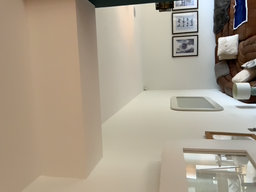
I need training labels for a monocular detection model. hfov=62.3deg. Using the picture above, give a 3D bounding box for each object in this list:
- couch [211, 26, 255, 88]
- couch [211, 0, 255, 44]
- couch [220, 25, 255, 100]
[{"bbox_3d":[2.510,-0.890,5.030,1.180,0.740,0.810,77,-164,-48],"label":"couch"},{"bbox_3d":[2.490,-2.220,5.030,1.170,0.750,1.780,-35,-56,-77],"label":"couch"},{"bbox_3d":[2.310,-0.610,4.000,1.340,0.750,1.170,-35,-57,-77],"label":"couch"}]
